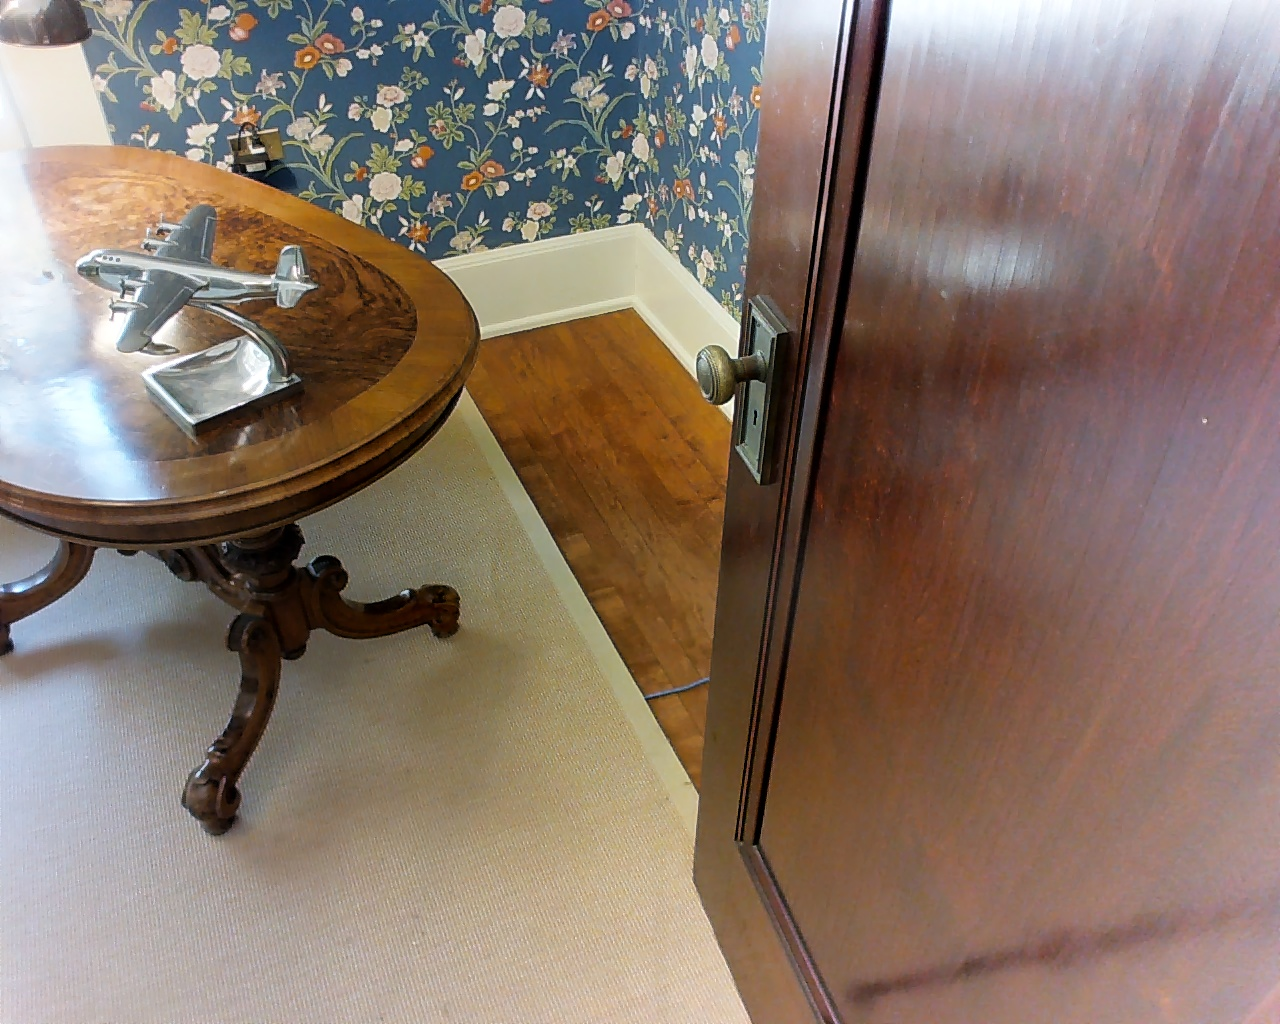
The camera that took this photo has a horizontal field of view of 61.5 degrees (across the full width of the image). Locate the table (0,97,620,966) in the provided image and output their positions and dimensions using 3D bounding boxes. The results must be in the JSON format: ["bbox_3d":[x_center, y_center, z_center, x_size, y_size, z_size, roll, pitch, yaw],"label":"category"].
[{"bbox_3d":[-0.790,-0.060,1.830,1.290,0.780,0.780,22,46,22],"label":"table"}]

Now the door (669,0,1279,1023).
[{"bbox_3d":[0.240,0.010,0.720,0.100,2.190,0.920,-11,43,-13],"label":"door"}]
